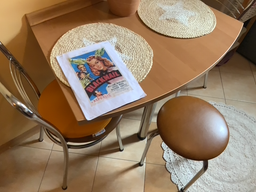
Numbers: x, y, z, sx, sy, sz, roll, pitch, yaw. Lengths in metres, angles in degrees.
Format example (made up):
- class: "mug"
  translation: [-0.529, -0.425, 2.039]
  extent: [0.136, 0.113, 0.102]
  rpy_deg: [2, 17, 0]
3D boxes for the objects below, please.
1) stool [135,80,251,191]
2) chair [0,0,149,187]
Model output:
- class: "stool"
  translation: [0.310, 0.250, 1.180]
  extent: [0.350, 0.470, 0.350]
  rpy_deg: [-31, 63, -24]
- class: "chair"
  translation: [-0.250, 0.050, 1.010]
  extent: [0.430, 0.870, 0.370]
  rpy_deg: [-26, 61, -22]
